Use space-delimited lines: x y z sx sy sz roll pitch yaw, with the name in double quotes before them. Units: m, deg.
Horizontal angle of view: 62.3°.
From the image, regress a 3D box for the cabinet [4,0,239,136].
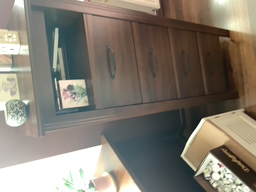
"cabinet" 0.070 -0.150 1.270 0.510 1.320 0.470 -3 92 53
